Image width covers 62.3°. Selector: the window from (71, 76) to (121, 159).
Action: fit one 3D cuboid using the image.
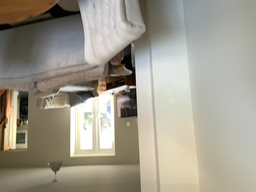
[{"bbox_3d":[-0.910,0.600,6.100,1.350,2.290,0.300,-2,172,3],"label":"window"}]
